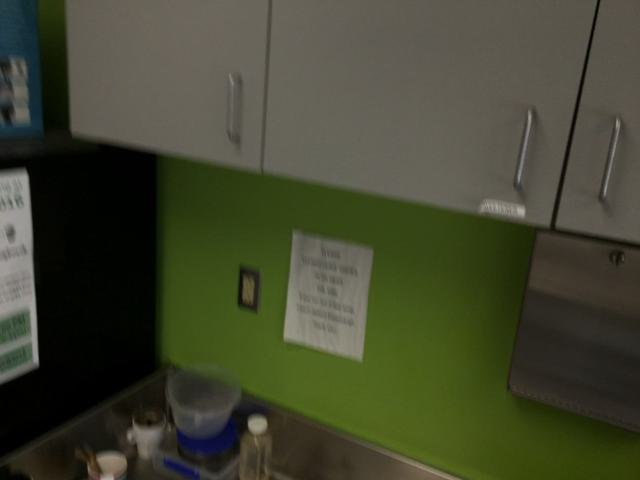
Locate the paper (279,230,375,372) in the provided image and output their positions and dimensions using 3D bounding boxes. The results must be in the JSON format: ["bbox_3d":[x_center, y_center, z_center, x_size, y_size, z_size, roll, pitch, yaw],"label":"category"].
[{"bbox_3d":[0.010,0.140,1.350,0.210,0.290,0.030,13,18,27],"label":"paper"}]
